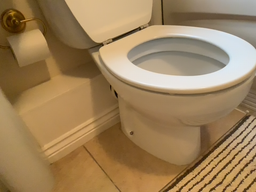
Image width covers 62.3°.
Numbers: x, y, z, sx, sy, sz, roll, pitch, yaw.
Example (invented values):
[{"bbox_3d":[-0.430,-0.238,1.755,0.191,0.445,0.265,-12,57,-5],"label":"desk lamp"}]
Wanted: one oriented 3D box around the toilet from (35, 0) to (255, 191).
[{"bbox_3d":[0.050,-0.170,0.660,0.390,0.790,0.640,-30,38,-24],"label":"toilet"}]
